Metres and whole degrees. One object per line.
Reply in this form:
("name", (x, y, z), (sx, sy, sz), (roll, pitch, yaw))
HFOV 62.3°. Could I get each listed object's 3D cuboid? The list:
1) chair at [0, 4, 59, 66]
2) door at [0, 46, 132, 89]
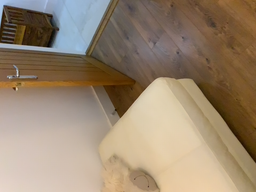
("chair", (-1.470, -0.840, 3.080), (0.710, 0.630, 0.370), (-50, 58, 37))
("door", (-0.910, -0.240, 1.560), (0.770, 1.900, 0.060), (34, 117, 41))
